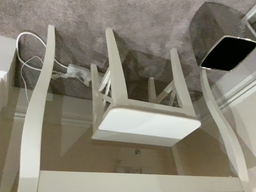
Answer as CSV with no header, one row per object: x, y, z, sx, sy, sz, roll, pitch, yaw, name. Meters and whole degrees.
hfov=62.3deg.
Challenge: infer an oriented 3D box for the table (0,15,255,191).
-0.010,0.190,1.080,1.010,0.760,0.530,9,142,-24,table
